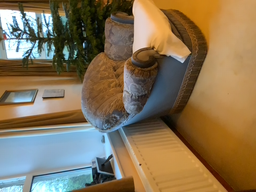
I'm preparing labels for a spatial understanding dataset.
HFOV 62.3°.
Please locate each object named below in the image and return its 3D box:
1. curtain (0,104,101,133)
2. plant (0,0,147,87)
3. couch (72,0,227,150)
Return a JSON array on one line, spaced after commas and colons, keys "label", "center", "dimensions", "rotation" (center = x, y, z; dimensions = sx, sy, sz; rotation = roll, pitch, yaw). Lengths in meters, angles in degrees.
[{"label": "curtain", "center": [-1.100, 0.240, 2.090], "dimensions": [0.270, 1.630, 0.110], "rotation": [-134, 42, -67]}, {"label": "plant", "center": [-1.050, -0.890, 3.090], "dimensions": [1.260, 2.220, 1.000], "rotation": [122, 141, -65]}, {"label": "couch", "center": [-0.010, -0.340, 1.980], "dimensions": [1.140, 0.910, 1.040], "rotation": [-110, 22, -45]}]
